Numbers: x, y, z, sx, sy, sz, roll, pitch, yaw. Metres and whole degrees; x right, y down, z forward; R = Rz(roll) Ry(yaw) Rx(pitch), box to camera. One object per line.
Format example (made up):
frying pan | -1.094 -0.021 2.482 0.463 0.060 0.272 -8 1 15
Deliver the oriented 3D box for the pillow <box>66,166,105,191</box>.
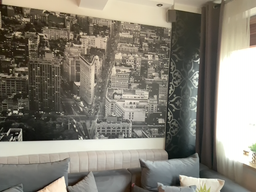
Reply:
pillow | -0.380 0.910 1.970 0.200 0.340 0.310 8 20 24
